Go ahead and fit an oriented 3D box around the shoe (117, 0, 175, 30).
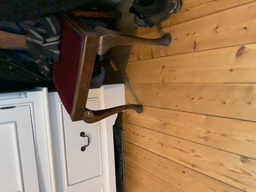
[{"bbox_3d":[0.080,-0.420,0.980,0.190,0.190,0.190,18,111,54],"label":"shoe"}]
